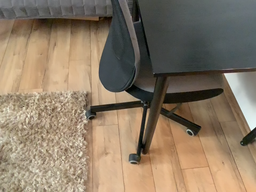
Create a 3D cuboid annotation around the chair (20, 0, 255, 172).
[{"bbox_3d":[0.100,-0.220,0.930,0.710,1.050,0.700,-6,56,-8],"label":"chair"}]
